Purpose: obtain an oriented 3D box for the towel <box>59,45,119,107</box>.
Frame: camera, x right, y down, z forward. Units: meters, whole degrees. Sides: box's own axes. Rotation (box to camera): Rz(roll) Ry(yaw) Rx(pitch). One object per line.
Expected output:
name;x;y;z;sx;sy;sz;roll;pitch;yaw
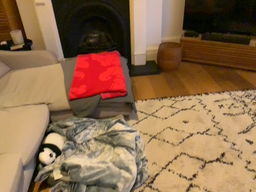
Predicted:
towel;-0.320;-0.230;1.990;0.430;0.200;0.840;-4;32;-2
